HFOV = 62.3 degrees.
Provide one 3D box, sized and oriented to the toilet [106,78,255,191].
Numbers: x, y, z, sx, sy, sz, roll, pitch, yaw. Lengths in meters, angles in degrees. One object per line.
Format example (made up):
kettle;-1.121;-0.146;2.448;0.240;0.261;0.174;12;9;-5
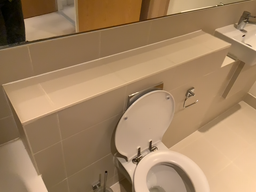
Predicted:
toilet;0.200;0.400;1.110;0.380;0.770;0.490;-25;52;-33

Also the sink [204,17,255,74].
sink;0.870;-0.390;1.550;0.500;0.170;0.340;-23;51;-31
